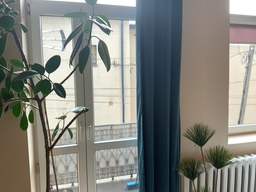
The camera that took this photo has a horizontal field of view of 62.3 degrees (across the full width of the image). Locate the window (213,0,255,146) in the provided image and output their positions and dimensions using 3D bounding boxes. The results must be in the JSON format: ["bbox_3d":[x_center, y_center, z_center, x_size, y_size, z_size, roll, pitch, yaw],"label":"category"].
[{"bbox_3d":[1.570,-0.480,2.360,1.220,1.970,0.190,-2,5,-12],"label":"window"}]

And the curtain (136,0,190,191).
[{"bbox_3d":[0.300,0.060,1.850,0.420,3.130,0.160,-2,5,-14],"label":"curtain"}]
